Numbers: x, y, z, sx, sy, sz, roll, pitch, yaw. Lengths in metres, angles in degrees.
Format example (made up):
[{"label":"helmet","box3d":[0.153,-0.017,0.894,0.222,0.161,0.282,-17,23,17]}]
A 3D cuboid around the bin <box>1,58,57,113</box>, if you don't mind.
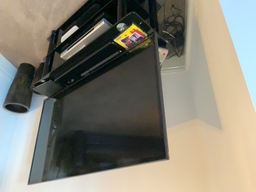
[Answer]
[{"label":"bin","box3d":[-0.850,-0.090,1.860,0.320,0.400,0.200,-6,152,9]}]
